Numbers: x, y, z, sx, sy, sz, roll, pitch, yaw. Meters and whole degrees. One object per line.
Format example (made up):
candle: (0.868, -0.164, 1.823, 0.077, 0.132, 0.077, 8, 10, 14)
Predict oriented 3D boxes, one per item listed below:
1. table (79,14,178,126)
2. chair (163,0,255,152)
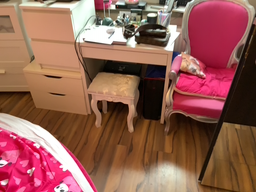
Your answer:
table: (0.050, -0.270, 2.020, 0.710, 0.750, 0.660, 8, 39, 10)
chair: (0.680, -0.230, 1.740, 0.620, 1.000, 0.800, 8, 39, 10)
